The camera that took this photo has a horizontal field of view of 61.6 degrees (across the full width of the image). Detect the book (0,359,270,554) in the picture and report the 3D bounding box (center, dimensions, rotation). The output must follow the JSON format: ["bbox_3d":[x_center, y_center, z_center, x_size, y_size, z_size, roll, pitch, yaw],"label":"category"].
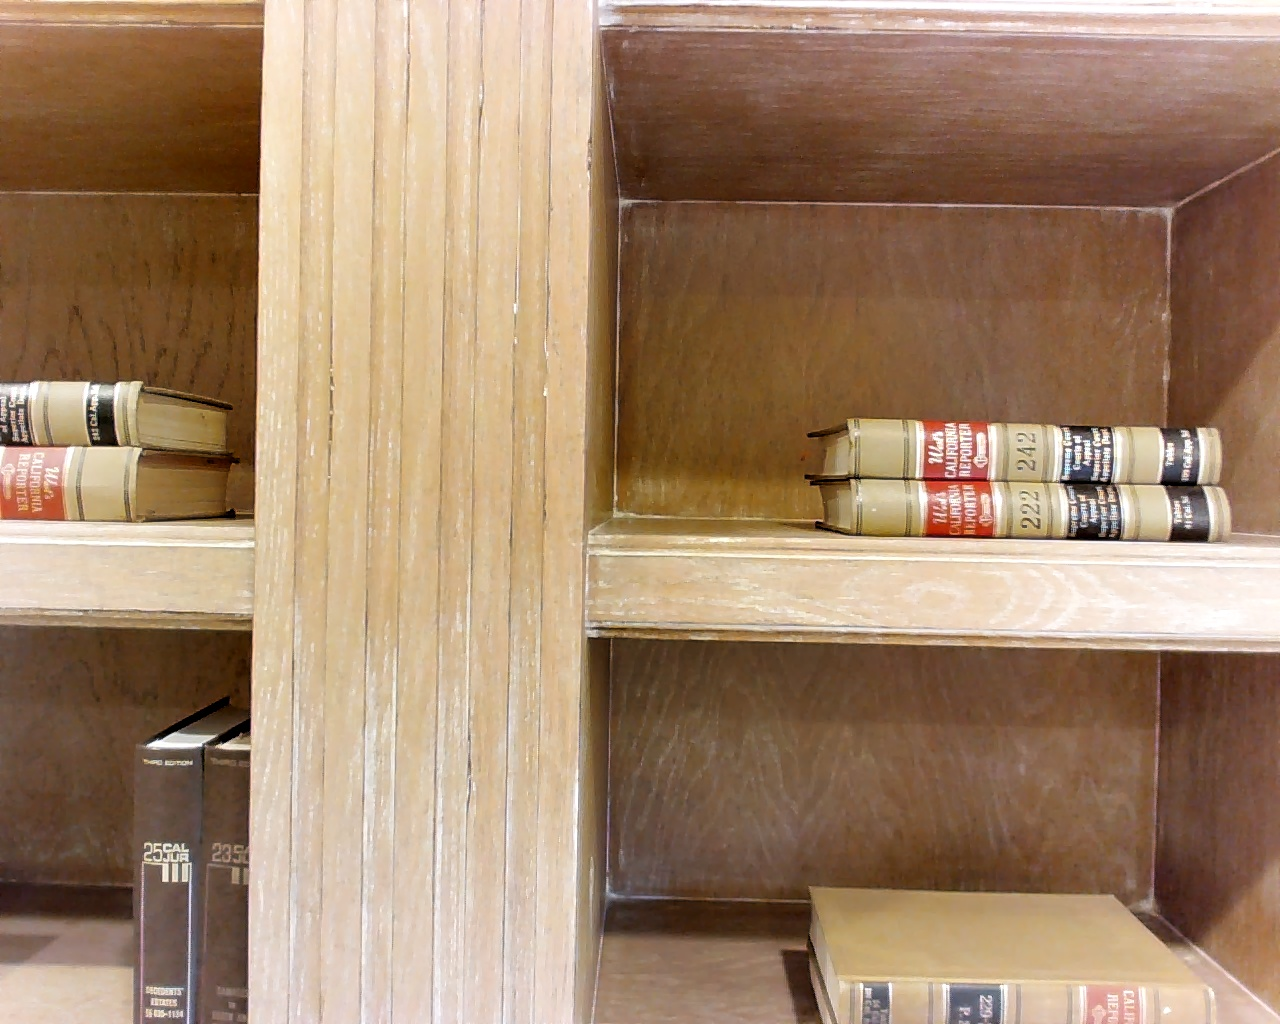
[{"bbox_3d":[-0.460,-0.040,0.830,0.270,0.130,0.210,1,1,2],"label":"book"}]

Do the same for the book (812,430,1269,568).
[{"bbox_3d":[0.290,-0.010,0.830,0.280,0.090,0.190,1,1,-1],"label":"book"}]
